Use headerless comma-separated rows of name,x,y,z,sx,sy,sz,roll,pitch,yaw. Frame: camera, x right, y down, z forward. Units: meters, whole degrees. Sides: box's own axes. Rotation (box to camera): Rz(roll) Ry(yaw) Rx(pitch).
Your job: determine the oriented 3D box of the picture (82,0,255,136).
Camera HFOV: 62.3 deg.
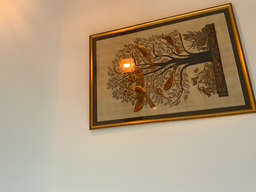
picture,0.190,-0.170,1.340,0.040,1.040,0.740,45,-141,-65
